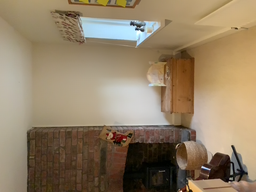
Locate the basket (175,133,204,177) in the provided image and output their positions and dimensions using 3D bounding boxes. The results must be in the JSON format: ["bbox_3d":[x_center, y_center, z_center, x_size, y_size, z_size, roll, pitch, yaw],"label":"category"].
[{"bbox_3d":[0.910,0.870,3.200,0.390,0.260,0.540,-162,72,-79],"label":"basket"}]

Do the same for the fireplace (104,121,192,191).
[{"bbox_3d":[0.290,1.360,3.590,0.710,1.350,1.750,-176,87,-79],"label":"fireplace"}]
